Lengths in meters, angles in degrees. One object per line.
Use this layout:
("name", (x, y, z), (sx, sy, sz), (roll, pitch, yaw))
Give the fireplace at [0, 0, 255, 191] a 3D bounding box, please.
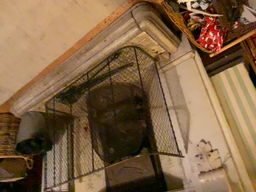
("fireplace", (-0.160, 0.410, 1.530), (1.880, 1.300, 0.910), (-28, 146, 29))
